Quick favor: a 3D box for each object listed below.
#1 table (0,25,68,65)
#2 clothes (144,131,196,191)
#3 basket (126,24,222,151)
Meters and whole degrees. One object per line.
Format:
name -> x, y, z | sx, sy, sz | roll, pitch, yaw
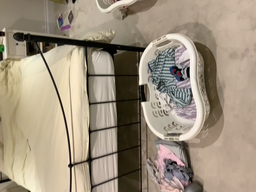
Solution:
table -> -1.290, -0.640, 2.830 | 0.560, 0.780, 0.370 | 4, 96, 50
clothes -> 0.290, 0.560, 1.530 | 0.350, 0.140, 0.540 | 5, 96, 50
basket -> 0.280, -0.040, 1.420 | 0.550, 0.240, 0.680 | -5, 89, 50
